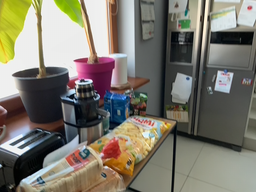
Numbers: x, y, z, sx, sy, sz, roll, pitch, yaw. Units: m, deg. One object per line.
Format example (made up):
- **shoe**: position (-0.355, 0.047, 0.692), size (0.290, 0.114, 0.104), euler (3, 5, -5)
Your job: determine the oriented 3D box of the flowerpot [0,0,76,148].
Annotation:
- **flowerpot**: position (-0.660, -0.260, 1.290), size (0.350, 0.950, 0.480), euler (10, 23, 28)
